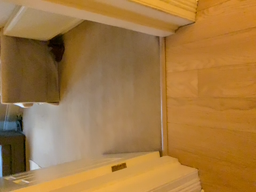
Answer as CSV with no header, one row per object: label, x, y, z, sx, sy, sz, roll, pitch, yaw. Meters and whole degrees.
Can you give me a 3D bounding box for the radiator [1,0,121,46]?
radiator,-0.680,-0.740,1.920,1.750,0.570,0.110,-4,90,51
